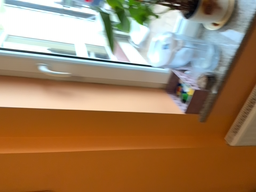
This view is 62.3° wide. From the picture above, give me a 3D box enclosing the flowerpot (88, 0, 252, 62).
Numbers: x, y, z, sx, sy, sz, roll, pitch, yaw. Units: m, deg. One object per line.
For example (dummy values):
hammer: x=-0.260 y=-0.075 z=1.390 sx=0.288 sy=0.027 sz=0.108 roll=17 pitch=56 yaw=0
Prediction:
flowerpot: x=0.180 y=-0.430 z=0.890 sx=0.260 sy=0.600 sz=0.430 roll=-119 pitch=38 yaw=-54
